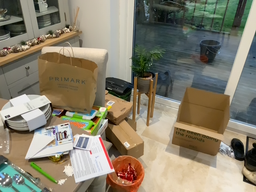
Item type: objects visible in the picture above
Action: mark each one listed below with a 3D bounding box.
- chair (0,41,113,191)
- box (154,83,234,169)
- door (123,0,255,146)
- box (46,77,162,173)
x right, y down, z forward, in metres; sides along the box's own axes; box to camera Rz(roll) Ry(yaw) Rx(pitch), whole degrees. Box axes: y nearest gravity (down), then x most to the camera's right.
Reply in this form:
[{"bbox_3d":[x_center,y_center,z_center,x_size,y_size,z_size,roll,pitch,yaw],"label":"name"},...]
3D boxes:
[{"bbox_3d":[-0.390,0.180,1.500,0.460,0.920,0.610,6,33,5],"label":"chair"},{"bbox_3d":[0.640,0.230,2.010,0.540,0.330,0.680,17,36,22],"label":"box"},{"bbox_3d":[0.990,-0.510,1.750,2.250,2.100,0.090,18,36,22],"label":"door"},{"bbox_3d":[-0.230,0.210,2.000,0.940,0.380,0.480,21,37,26],"label":"box"}]
